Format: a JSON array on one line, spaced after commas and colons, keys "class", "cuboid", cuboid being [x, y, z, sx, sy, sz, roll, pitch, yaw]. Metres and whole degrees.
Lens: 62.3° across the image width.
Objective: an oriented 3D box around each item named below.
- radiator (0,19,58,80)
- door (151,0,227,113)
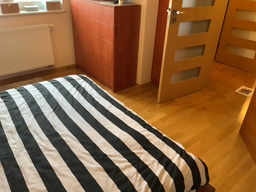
[{"class": "radiator", "cuboid": [-1.500, -0.670, 2.990, 0.860, 0.710, 0.220, -18, 36, -32]}, {"class": "door", "cuboid": [0.770, -0.890, 2.470, 0.890, 2.250, 0.130, -16, 35, -29]}]
